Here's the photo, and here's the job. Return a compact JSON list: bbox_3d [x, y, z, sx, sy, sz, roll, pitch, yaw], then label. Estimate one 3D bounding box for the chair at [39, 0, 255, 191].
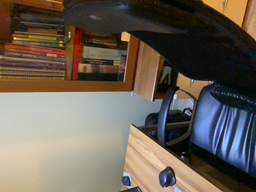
[{"bbox_3d":[0.380,0.090,0.910,0.640,1.300,0.730,22,110,55],"label":"chair"}]
